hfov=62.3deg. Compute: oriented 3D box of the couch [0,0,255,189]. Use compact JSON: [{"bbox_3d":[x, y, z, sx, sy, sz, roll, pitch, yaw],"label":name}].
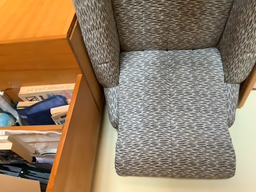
[{"bbox_3d":[0.150,-0.210,1.000,0.740,0.990,0.810,1,141,3],"label":"couch"}]
